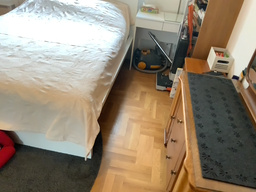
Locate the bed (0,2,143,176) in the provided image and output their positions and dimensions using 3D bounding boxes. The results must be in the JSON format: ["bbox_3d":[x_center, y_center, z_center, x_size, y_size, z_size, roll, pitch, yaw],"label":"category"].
[{"bbox_3d":[-0.930,-0.400,2.400,1.830,0.600,2.110,12,35,6],"label":"bed"}]

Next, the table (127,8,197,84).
[{"bbox_3d":[0.440,-0.700,2.940,0.750,0.770,0.530,11,35,5],"label":"table"}]

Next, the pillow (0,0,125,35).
[{"bbox_3d":[-0.800,-1.130,2.700,1.440,0.300,0.540,11,35,4],"label":"pillow"}]
